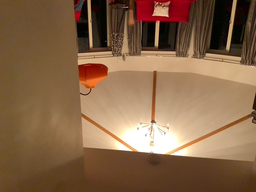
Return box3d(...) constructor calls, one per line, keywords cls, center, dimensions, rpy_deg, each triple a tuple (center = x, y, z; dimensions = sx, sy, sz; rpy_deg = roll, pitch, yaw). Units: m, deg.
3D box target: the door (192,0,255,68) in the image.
box3d(cls="door", center=(2.710, -1.950, 5.800), dimensions=(0.190, 2.080, 1.890), rpy_deg=(-13, -157, -35))
